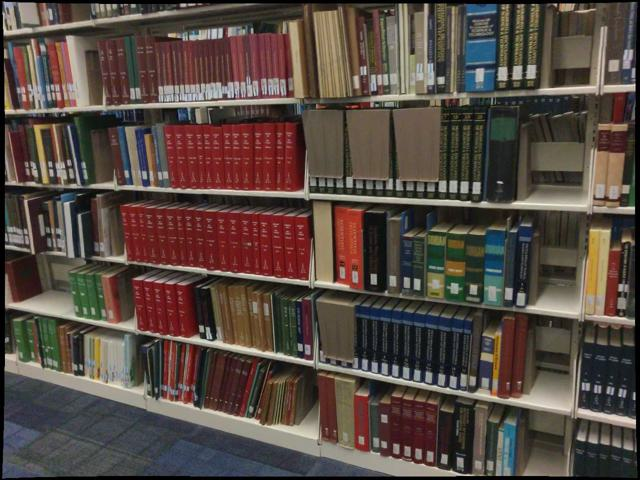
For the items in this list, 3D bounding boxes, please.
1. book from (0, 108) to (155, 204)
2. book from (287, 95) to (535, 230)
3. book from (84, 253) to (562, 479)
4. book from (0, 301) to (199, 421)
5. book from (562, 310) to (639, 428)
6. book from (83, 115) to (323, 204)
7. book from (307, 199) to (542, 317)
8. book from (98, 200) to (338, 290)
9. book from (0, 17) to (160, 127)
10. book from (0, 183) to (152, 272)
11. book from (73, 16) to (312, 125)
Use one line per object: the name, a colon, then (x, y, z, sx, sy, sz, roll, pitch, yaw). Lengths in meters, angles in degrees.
book: (-1.327, -0.411, 2.790, 0.928, 0.381, 0.400, 3, 16, 24)
book: (0.309, -0.271, 1.980, 0.778, 0.391, 0.270, 3, 16, 24)
book: (-0.060, 0.511, 2.400, 1.936, 0.742, 0.370, 3, 16, 24)
book: (-1.177, 0.592, 2.960, 1.058, 0.371, 0.320, 3, 16, 24)
book: (1.177, 0.421, 1.760, 0.788, 0.261, 0.260, 3, 16, 24)
book: (-0.489, -0.321, 2.320, 0.998, 0.301, 0.180, 3, 16, 24)
book: (0.359, 0.040, 2.020, 0.758, 0.311, 0.250, 3, 16, 24)
book: (-0.439, 0.000, 2.400, 1.008, 0.281, 0.220, 3, 16, 24)
book: (-1.287, -0.762, 2.710, 0.918, 0.411, 0.430, 3, 16, 24)
book: (-1.267, -0.080, 2.780, 0.828, 0.331, 0.320, 3, 16, 24)
book: (-0.509, -0.622, 2.190, 0.978, 0.321, 0.110, 3, 16, 24)
